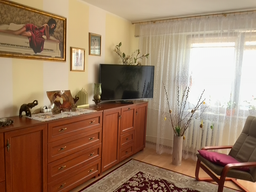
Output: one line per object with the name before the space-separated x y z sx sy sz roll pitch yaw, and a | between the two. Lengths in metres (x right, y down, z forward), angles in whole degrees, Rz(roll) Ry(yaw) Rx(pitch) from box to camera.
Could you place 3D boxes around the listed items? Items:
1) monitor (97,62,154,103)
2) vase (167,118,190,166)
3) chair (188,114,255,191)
monitor | -0.020 -0.220 3.700 1.060 0.660 0.050 -1 7 -29
vase | 0.870 0.770 3.630 0.210 0.680 0.470 6 7 29
chair | 1.370 0.780 2.850 0.790 0.940 0.700 2 6 -12
